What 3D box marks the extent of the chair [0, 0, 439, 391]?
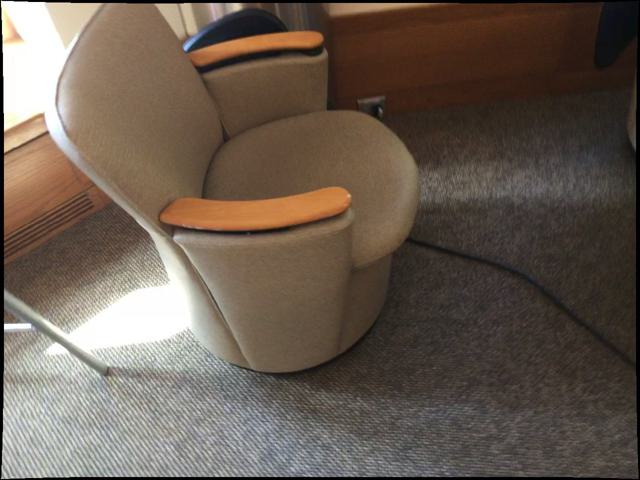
[{"bbox_3d":[-0.150,-0.150,1.430,0.788,0.831,0.711,-3,50,7],"label":"chair"}]
